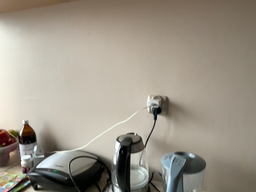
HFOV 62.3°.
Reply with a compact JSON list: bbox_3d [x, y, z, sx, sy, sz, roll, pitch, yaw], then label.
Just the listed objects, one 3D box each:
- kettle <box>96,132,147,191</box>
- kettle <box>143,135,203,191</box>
[{"bbox_3d":[-0.020,0.300,0.880,0.160,0.250,0.140,4,12,23],"label":"kettle"},{"bbox_3d":[0.170,0.310,0.750,0.160,0.240,0.270,3,12,22],"label":"kettle"}]
